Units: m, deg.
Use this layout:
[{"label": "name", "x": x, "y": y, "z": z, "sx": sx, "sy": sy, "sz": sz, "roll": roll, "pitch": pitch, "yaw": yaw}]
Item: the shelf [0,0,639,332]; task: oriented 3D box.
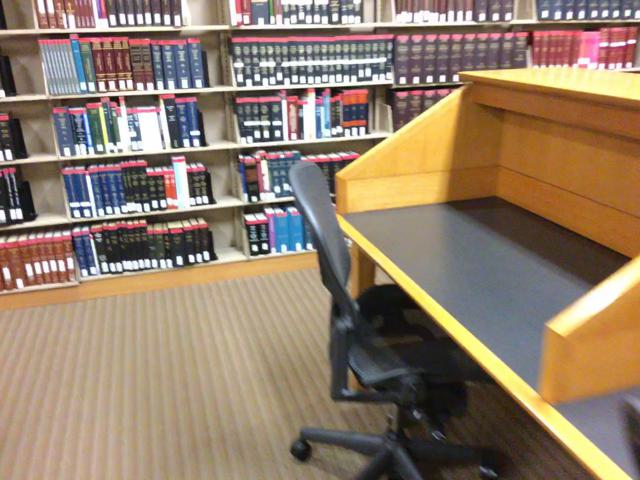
[{"label": "shelf", "x": -1.290, "y": -0.570, "z": 2.890, "sx": 7.070, "sy": 1.820, "sz": 0.670, "roll": -8, "pitch": 21, "yaw": -19}]

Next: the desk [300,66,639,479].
[{"label": "desk", "x": 0.560, "y": 0.180, "z": 1.670, "sx": 0.820, "sy": 1.230, "sz": 1.360, "roll": -8, "pitch": 21, "yaw": -19}]

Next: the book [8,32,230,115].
[{"label": "book", "x": -0.970, "y": -0.850, "z": 2.900, "sx": 0.980, "sy": 0.360, "sz": 0.230, "roll": -8, "pitch": 21, "yaw": -19}]

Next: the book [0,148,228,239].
[{"label": "book", "x": -1.050, "y": -0.260, "z": 3.050, "sx": 1.080, "sy": 0.340, "sz": 0.190, "roll": -8, "pitch": 21, "yaw": -19}]

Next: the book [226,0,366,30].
[{"label": "book", "x": -0.120, "y": -1.230, "z": 3.010, "sx": 0.710, "sy": 0.250, "sz": 0.170, "roll": -8, "pitch": 21, "yaw": -19}]

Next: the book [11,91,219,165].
[{"label": "book", "x": -1.020, "y": -0.590, "z": 2.970, "sx": 0.950, "sy": 0.290, "sz": 0.220, "roll": -8, "pitch": 21, "yaw": -19}]

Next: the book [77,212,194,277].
[{"label": "book", "x": -0.980, "y": 0.020, "z": 3.100, "sx": 0.560, "sy": 0.260, "sz": 0.110, "roll": -8, "pitch": 21, "yaw": -19}]

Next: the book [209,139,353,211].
[{"label": "book", "x": -0.220, "y": -0.390, "z": 3.360, "sx": 0.790, "sy": 0.310, "sz": 0.230, "roll": -8, "pitch": 21, "yaw": -19}]

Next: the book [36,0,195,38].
[{"label": "book", "x": -0.990, "y": -1.160, "z": 2.810, "sx": 0.690, "sy": 0.330, "sz": 0.290, "roll": -8, "pitch": 21, "yaw": -19}]

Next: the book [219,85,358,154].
[{"label": "book", "x": -0.170, "y": -0.690, "z": 3.260, "sx": 0.750, "sy": 0.320, "sz": 0.180, "roll": -8, "pitch": 21, "yaw": -19}]
